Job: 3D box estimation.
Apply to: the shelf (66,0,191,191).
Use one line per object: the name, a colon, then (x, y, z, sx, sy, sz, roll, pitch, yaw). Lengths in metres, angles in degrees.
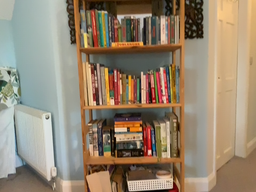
shelf: (0.030, 0.050, 1.580, 0.760, 1.630, 0.400, -2, 8, 1)
